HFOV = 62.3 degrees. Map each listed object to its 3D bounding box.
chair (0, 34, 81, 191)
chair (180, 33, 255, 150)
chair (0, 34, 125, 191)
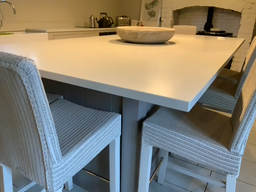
[{"bbox_3d":[-0.640,0.160,1.300,0.420,0.980,0.500,13,24,27],"label":"chair"},{"bbox_3d":[0.880,-0.080,2.060,0.500,0.970,0.470,13,24,27],"label":"chair"},{"bbox_3d":[-0.320,0.270,0.990,0.390,1.020,0.490,13,24,27],"label":"chair"}]
